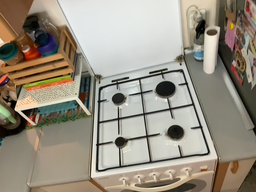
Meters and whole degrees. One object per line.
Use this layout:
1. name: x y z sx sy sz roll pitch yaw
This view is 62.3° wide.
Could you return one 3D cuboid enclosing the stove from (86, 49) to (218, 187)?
1. stove: 0.080 0.080 1.050 0.510 0.150 0.610 -11 51 9
